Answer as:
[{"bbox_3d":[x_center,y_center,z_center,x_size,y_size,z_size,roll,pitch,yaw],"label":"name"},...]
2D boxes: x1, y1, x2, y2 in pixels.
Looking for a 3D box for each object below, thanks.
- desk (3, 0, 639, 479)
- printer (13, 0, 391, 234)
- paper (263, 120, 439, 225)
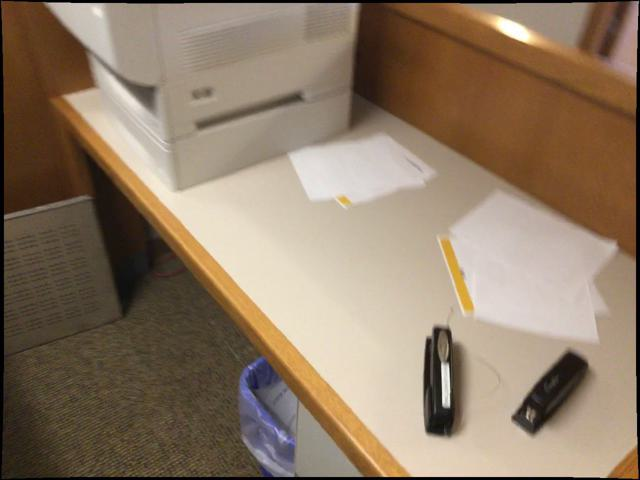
[{"bbox_3d":[-0.030,0.050,1.370,0.779,1.041,1.650,-22,48,-24],"label":"desk"},{"bbox_3d":[-0.269,-0.501,1.250,0.649,0.601,0.530,-23,48,-24],"label":"printer"},{"bbox_3d":[0.070,-0.170,1.350,0.320,0.020,0.260,-23,48,-24],"label":"paper"}]
